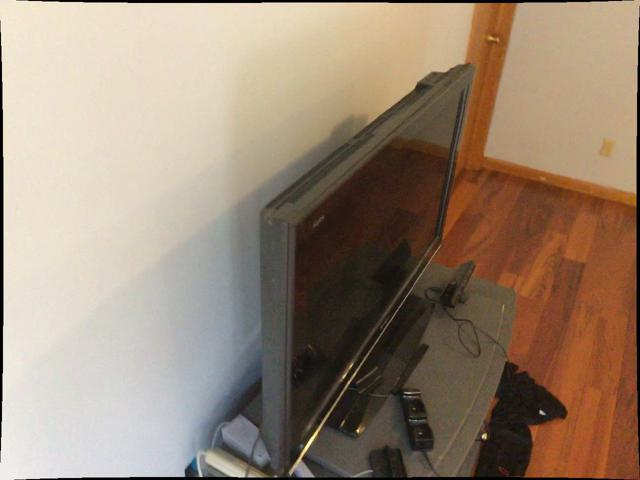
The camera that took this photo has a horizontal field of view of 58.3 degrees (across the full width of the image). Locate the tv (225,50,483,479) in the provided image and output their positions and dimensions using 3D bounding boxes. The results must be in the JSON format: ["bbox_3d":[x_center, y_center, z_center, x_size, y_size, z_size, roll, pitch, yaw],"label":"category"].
[{"bbox_3d":[0.150,-0.020,1.610,0.180,0.710,1.150,19,37,20],"label":"tv"}]

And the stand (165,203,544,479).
[{"bbox_3d":[0.210,0.530,1.930,0.680,0.630,1.320,19,37,20],"label":"stand"}]
